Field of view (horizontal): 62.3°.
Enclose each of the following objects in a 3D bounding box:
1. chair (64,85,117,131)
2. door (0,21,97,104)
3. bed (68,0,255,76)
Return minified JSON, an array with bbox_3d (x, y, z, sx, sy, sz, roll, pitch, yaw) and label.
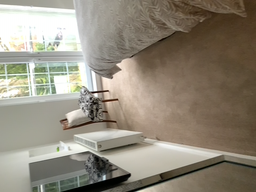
[{"bbox_3d":[-0.660,0.180,3.650,0.440,0.780,0.560,42,132,53],"label":"chair"},{"bbox_3d":[-1.640,-0.640,3.950,0.050,2.030,1.430,-5,91,63],"label":"door"},{"bbox_3d":[-0.050,-1.470,2.130,2.000,0.740,2.160,-13,84,63],"label":"bed"}]
